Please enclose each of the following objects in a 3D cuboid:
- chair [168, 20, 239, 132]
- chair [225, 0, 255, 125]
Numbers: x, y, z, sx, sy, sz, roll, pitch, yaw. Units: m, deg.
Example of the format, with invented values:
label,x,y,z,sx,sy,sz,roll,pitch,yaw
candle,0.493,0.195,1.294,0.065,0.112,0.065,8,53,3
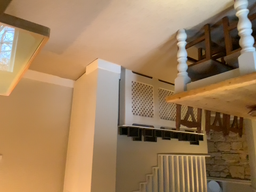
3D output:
label,x,y,z,sx,sy,sz,roll,pitch,yaw
chair,0.800,-0.170,2.320,0.510,1.050,0.460,12,162,-36
chair,1.260,-0.280,1.900,0.500,1.020,0.430,11,162,-35
